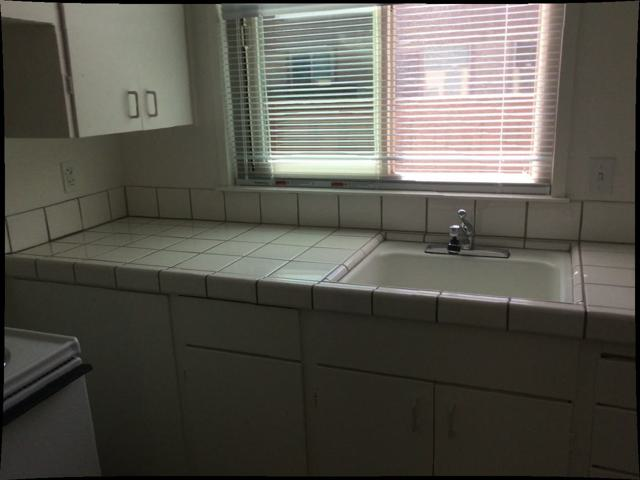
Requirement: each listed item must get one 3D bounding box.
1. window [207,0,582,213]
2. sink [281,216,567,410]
[{"bbox_3d":[0.210,-0.711,1.900,1.188,1.132,0.240,6,19,22],"label":"window"},{"bbox_3d":[0.329,0.150,1.660,0.679,0.250,0.600,6,19,22],"label":"sink"}]
